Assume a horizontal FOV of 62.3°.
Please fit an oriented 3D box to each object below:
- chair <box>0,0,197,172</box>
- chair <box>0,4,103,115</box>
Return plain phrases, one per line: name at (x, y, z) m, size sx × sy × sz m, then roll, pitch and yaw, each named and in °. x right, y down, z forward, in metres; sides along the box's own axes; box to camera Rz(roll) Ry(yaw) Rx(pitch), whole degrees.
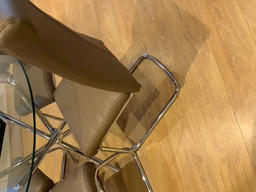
chair at (-0.210, -0.060, 1.020) m, size 0.570 × 0.980 × 0.440 m, roll -53°, pitch 56°, yaw 23°
chair at (-0.720, -0.190, 1.470) m, size 0.430 × 0.980 × 0.570 m, roll -20°, pitch 74°, yaw 37°
